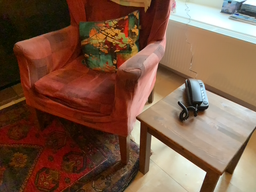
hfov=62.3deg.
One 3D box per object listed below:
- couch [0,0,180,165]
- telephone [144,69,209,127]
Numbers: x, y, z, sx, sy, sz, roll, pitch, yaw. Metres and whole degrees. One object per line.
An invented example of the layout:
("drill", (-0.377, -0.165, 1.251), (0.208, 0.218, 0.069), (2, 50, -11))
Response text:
("couch", (-0.200, -0.330, 1.340), (0.840, 0.970, 0.860), (13, 39, 17))
("telephone", (0.240, -0.010, 1.010), (0.180, 0.050, 0.340), (21, 42, 26))
